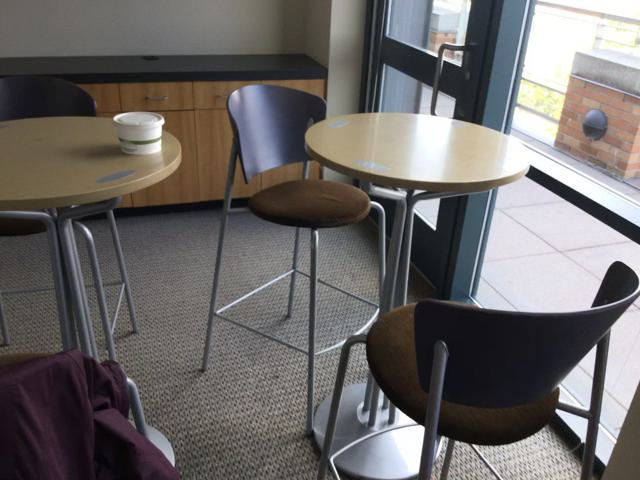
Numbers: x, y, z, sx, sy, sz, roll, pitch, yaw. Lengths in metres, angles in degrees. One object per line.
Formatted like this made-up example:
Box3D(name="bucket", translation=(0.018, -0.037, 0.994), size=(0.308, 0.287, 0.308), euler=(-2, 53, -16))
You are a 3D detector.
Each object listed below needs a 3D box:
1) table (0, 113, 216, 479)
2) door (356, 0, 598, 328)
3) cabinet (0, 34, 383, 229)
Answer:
Box3D(name="table", translation=(-0.650, 0.270, 1.600), size=(0.600, 1.110, 0.630), euler=(-5, 24, -18))
Box3D(name="door", translation=(0.610, -0.870, 2.650), size=(0.400, 2.150, 1.280), euler=(-5, 18, -18))
Box3D(name="cabinet", translation=(-1.010, -0.640, 3.340), size=(2.590, 0.750, 0.510), euler=(6, 19, -13))
